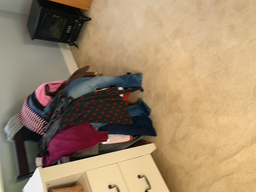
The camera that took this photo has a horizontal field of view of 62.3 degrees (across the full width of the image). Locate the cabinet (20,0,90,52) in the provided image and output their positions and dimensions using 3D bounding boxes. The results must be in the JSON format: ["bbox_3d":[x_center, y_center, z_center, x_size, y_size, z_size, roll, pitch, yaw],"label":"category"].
[{"bbox_3d":[-0.830,-0.880,2.350,0.440,0.510,0.590,-52,54,37],"label":"cabinet"}]
